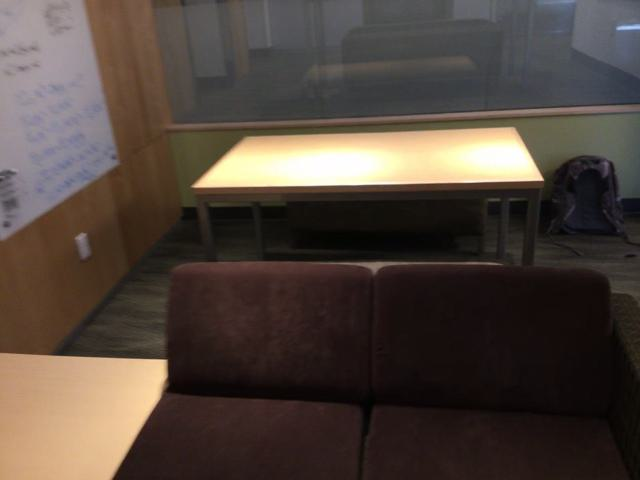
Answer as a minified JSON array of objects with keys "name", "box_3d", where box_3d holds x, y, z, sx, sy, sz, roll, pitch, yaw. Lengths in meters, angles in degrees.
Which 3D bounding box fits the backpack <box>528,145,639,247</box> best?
[{"name":"backpack","box_3d":[1.440,-0.250,3.200,0.470,0.430,0.350,-6,20,8]}]

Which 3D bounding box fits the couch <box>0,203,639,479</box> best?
[{"name":"couch","box_3d":[-0.010,0.530,1.400,1.590,0.830,0.930,-6,20,8]}]
